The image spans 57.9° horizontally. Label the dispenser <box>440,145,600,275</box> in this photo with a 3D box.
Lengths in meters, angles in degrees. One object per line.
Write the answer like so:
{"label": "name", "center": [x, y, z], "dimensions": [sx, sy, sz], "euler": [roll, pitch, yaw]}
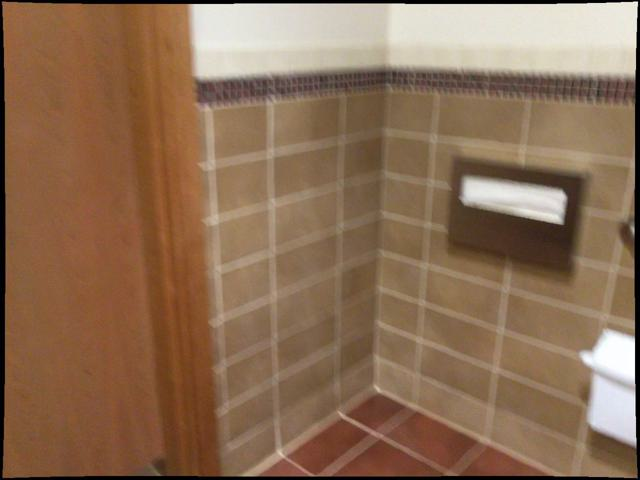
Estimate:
{"label": "dispenser", "center": [0.559, -0.100, 1.680], "dimensions": [0.420, 0.290, 0.080], "euler": [18, 28, 41]}

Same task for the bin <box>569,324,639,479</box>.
{"label": "bin", "center": [0.869, 0.450, 1.520], "dimensions": [0.330, 0.340, 0.130], "euler": [18, 28, 41]}
